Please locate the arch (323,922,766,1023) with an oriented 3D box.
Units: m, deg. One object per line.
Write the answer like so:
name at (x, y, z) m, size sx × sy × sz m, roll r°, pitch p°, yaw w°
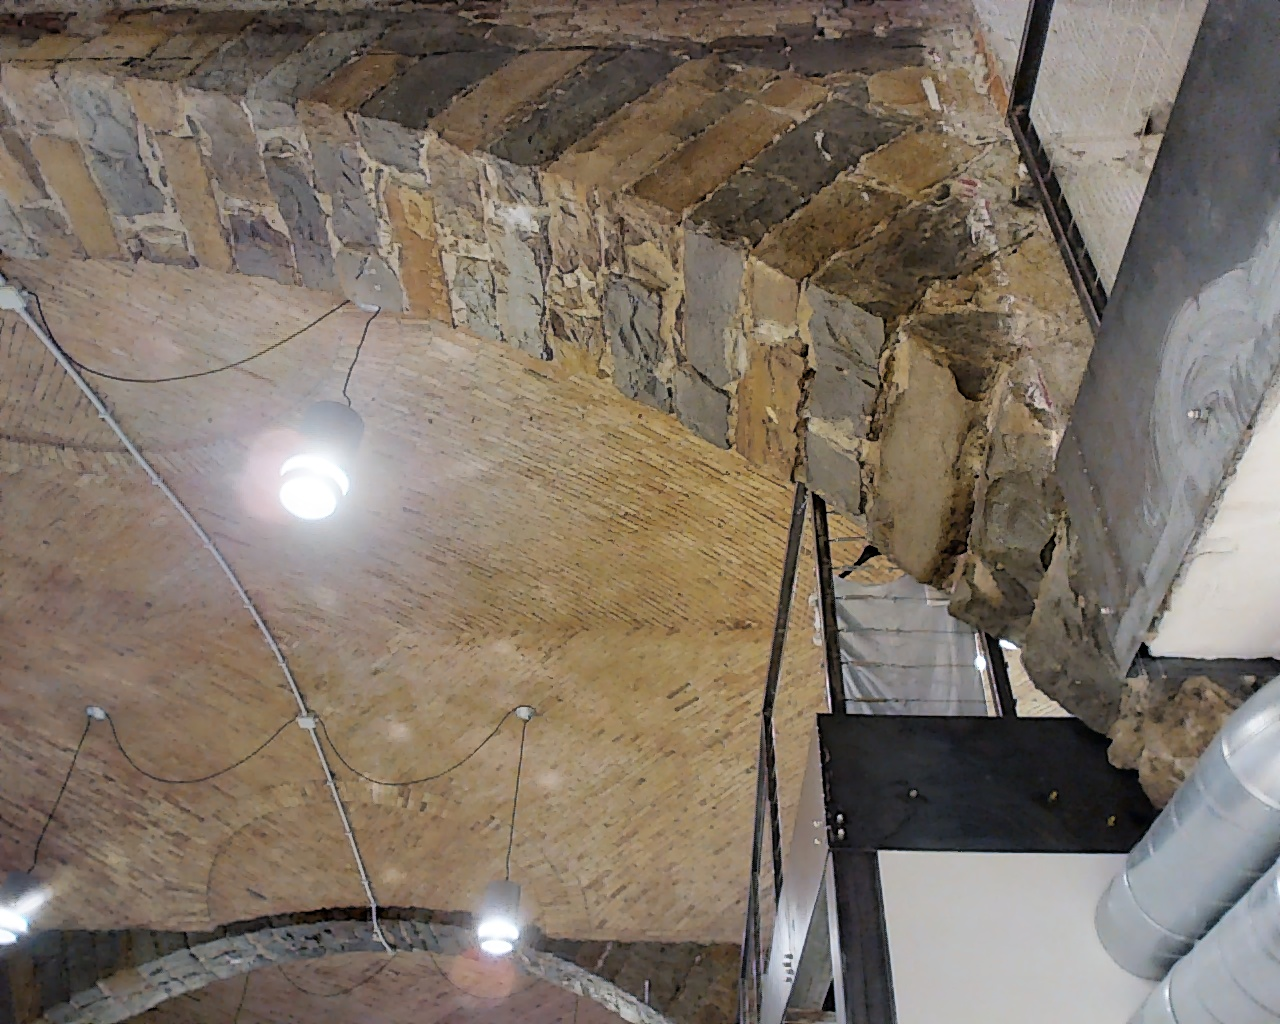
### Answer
arch at (-0.720, 4.071, 8.440) m, size 3.379 × 1.360 × 0.710 m, roll 0°, pitch -42°, yaw 4°
